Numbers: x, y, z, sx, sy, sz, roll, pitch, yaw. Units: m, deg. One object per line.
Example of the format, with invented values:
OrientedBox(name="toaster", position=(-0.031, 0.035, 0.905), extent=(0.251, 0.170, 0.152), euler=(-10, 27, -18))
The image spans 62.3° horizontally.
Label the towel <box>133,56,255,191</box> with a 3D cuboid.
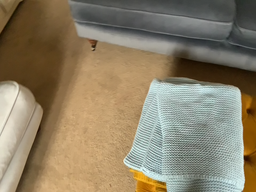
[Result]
OrientedBox(name="towel", position=(0.280, 0.120, 0.810), extent=(0.400, 0.130, 0.470), euler=(16, 64, 7))
